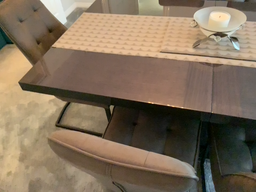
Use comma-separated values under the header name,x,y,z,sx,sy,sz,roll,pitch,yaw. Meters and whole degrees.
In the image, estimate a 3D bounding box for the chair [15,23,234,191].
name,x,y,z,sx,sy,sz,roll,pitch,yaw
chair,0.080,0.270,0.960,0.470,0.950,0.580,9,48,14

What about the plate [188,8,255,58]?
name,x,y,z,sx,sy,sz,roll,pitch,yaw
plate,0.420,-0.300,0.990,0.250,0.110,0.240,6,47,11
